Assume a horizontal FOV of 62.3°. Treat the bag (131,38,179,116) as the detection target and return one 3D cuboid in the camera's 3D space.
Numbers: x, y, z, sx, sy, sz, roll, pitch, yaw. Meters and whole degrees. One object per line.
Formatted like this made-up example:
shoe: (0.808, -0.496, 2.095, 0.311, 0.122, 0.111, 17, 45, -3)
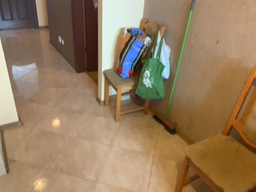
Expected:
bag: (0.240, -0.180, 2.080, 0.280, 0.700, 0.260, -8, 33, -21)
